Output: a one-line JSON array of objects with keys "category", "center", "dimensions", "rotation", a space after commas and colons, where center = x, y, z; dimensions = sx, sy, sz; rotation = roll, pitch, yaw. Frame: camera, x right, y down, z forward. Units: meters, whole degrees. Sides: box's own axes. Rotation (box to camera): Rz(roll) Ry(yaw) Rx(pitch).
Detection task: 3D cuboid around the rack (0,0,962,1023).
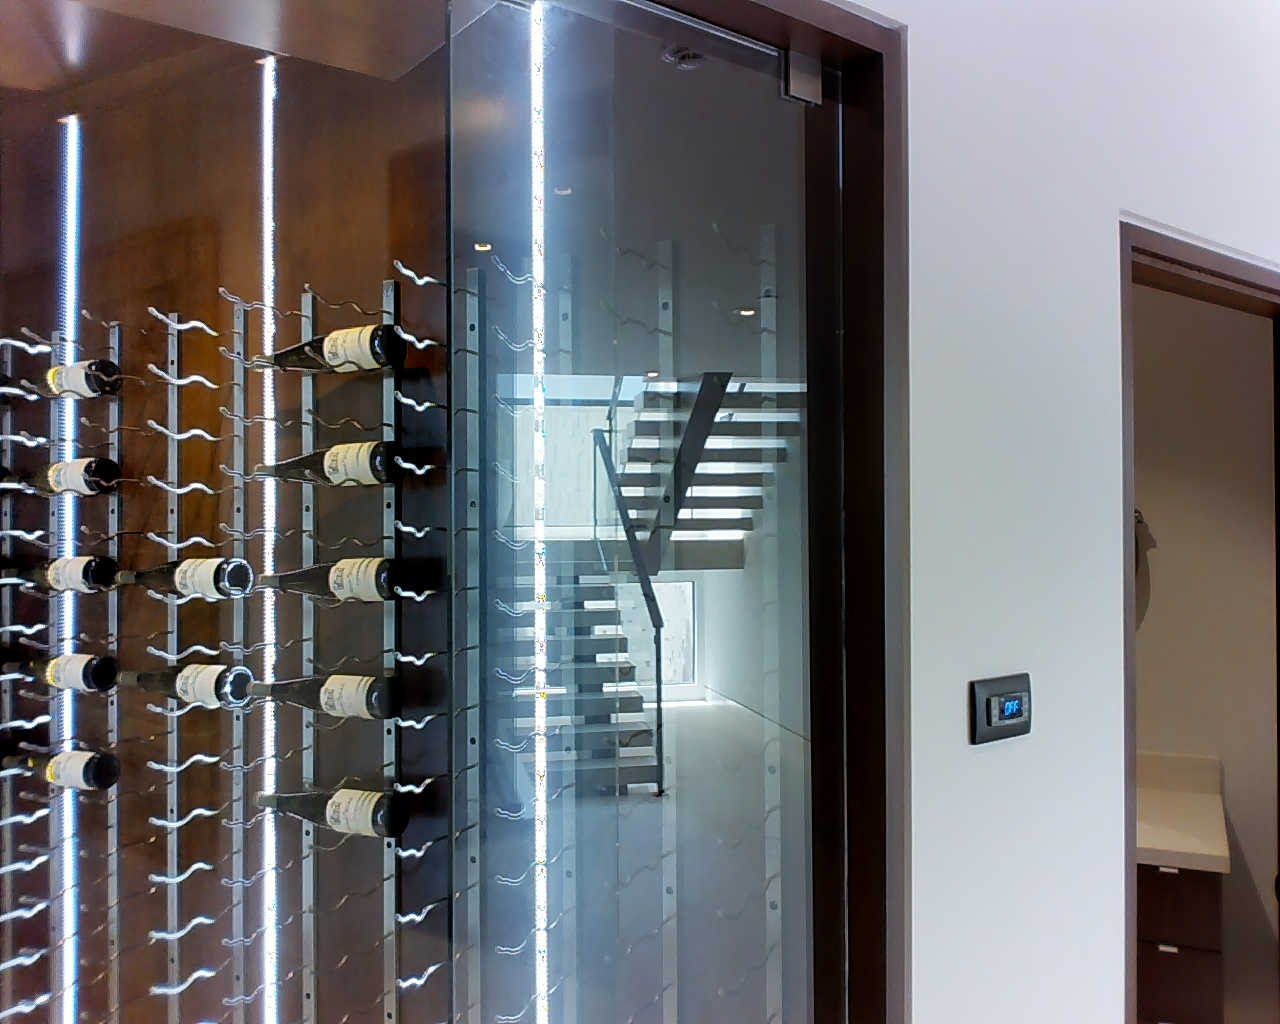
[{"category": "rack", "center": [-0.790, 0.400, 2.080], "dimensions": [2.720, 2.570, 0.180], "rotation": [0, -1, 27]}]
